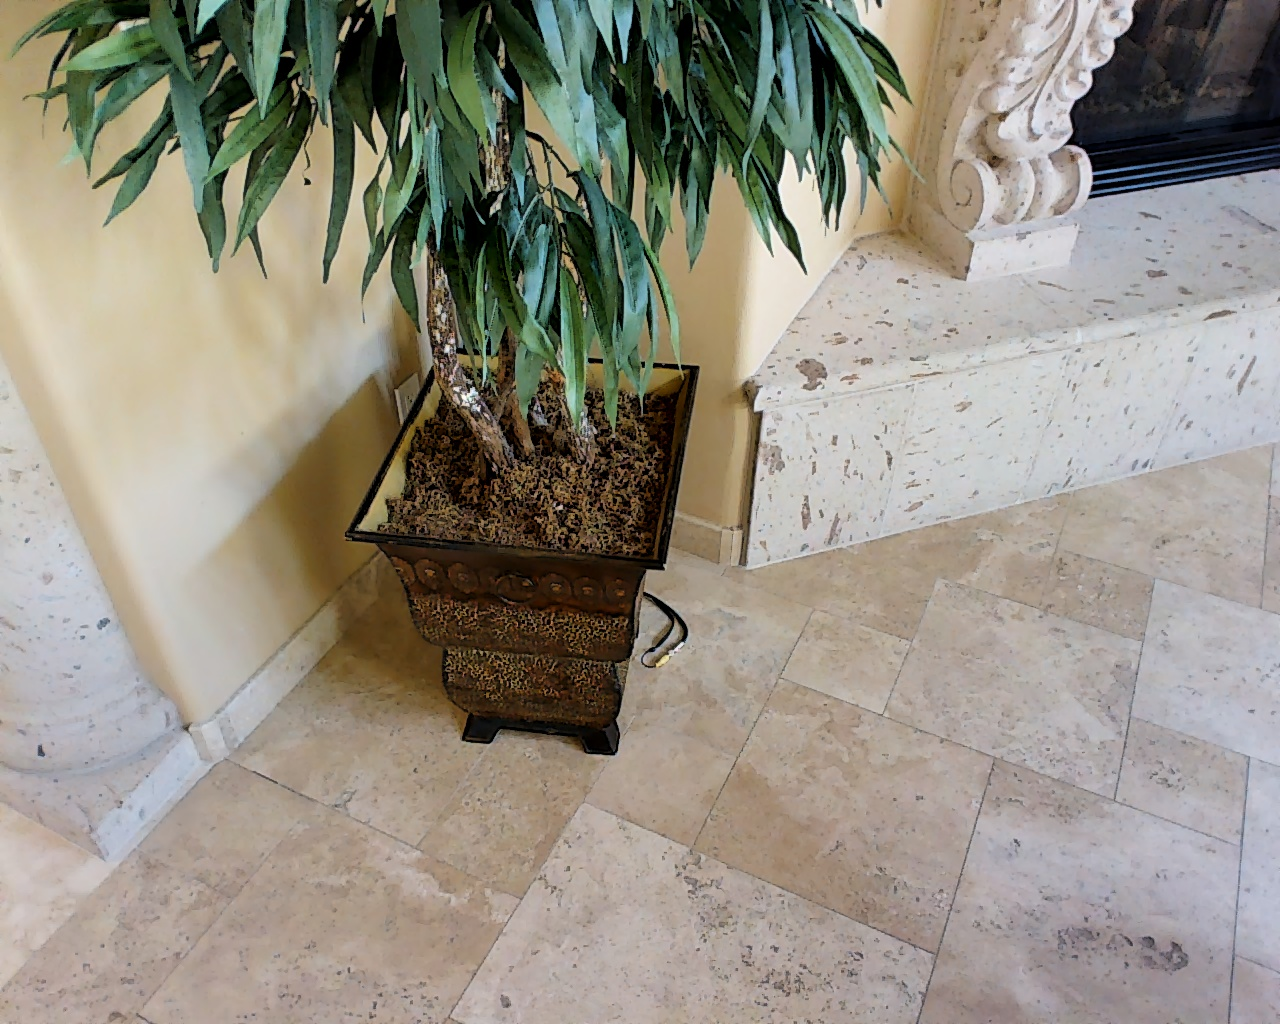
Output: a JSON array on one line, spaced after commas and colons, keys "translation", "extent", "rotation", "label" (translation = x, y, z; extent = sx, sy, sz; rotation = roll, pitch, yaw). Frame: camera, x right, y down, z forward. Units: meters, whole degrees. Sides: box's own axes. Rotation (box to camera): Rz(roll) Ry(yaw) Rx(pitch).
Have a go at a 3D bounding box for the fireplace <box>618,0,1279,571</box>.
[{"translation": [1.391, -1.130, 2.160], "extent": [2.771, 1.930, 0.760], "rotation": [-12, 43, -14], "label": "fireplace"}]
